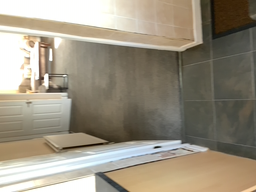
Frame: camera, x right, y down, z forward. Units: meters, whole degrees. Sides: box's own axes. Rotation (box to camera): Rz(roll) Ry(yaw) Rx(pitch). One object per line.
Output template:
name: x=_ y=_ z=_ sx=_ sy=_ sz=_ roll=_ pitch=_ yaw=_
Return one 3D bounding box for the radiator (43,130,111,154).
radiator: x=-0.850 y=0.680 z=3.330 sx=1.150 sy=0.730 sz=0.100 roll=-3 pitch=88 yaw=60

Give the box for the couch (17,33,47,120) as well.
couch: x=-3.580 y=-0.660 z=7.850 sx=1.220 sy=0.820 sz=2.940 roll=-2 pitch=89 yaw=59
